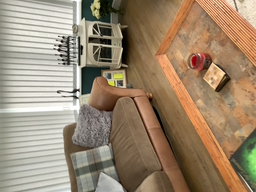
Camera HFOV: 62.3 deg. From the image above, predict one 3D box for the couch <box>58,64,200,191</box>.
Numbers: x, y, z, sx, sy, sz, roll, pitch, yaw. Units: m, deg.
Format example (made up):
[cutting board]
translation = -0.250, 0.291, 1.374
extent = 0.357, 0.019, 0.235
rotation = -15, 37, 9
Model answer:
[couch]
translation = -0.060, 0.890, 2.130
extent = 1.040, 0.910, 2.280
rotation = -60, 40, 46
